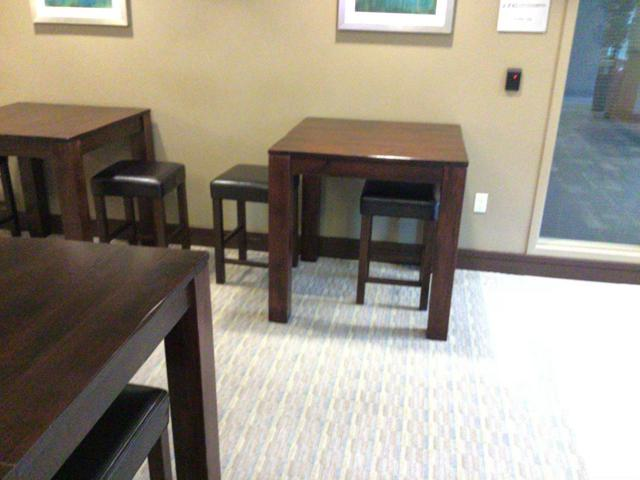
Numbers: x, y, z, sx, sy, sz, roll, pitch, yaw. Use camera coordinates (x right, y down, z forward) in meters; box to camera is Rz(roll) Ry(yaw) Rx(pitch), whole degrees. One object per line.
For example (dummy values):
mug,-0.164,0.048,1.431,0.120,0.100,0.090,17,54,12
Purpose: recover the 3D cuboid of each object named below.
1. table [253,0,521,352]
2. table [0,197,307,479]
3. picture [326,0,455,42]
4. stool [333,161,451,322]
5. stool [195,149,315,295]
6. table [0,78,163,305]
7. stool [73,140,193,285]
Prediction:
table,0.290,-0.600,2.940,1.010,1.960,0.990,6,22,5
table,-0.640,0.560,1.340,1.020,0.960,1.090,6,22,5
picture,0.390,-1.420,3.030,0.660,0.670,0.140,6,22,5
stool,0.390,-0.020,3.220,0.520,0.650,0.650,6,22,5
stool,-0.370,-0.130,3.430,0.560,0.640,0.610,6,22,5
table,-1.600,-0.340,3.320,1.040,0.960,0.980,6,22,5
stool,-1.070,-0.180,3.420,0.460,0.670,0.560,6,22,5
